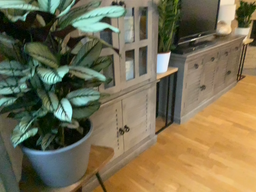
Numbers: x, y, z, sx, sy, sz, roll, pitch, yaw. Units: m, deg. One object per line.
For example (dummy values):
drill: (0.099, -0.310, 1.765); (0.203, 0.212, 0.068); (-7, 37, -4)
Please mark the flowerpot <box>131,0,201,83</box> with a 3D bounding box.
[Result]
flowerpot: (0.360, -0.620, 2.160); (0.380, 0.790, 0.540); (-22, 32, -38)
